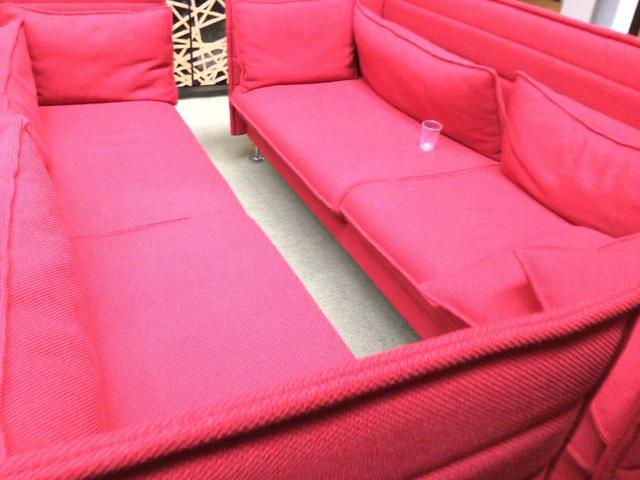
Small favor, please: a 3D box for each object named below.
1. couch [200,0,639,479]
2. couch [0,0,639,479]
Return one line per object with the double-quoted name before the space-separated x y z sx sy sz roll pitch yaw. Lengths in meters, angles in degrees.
"couch" 0.430 -0.370 2.020 1.000 1.010 2.480 -13 32 -22
"couch" -0.530 -0.160 1.530 0.960 1.060 2.430 -13 32 -22
